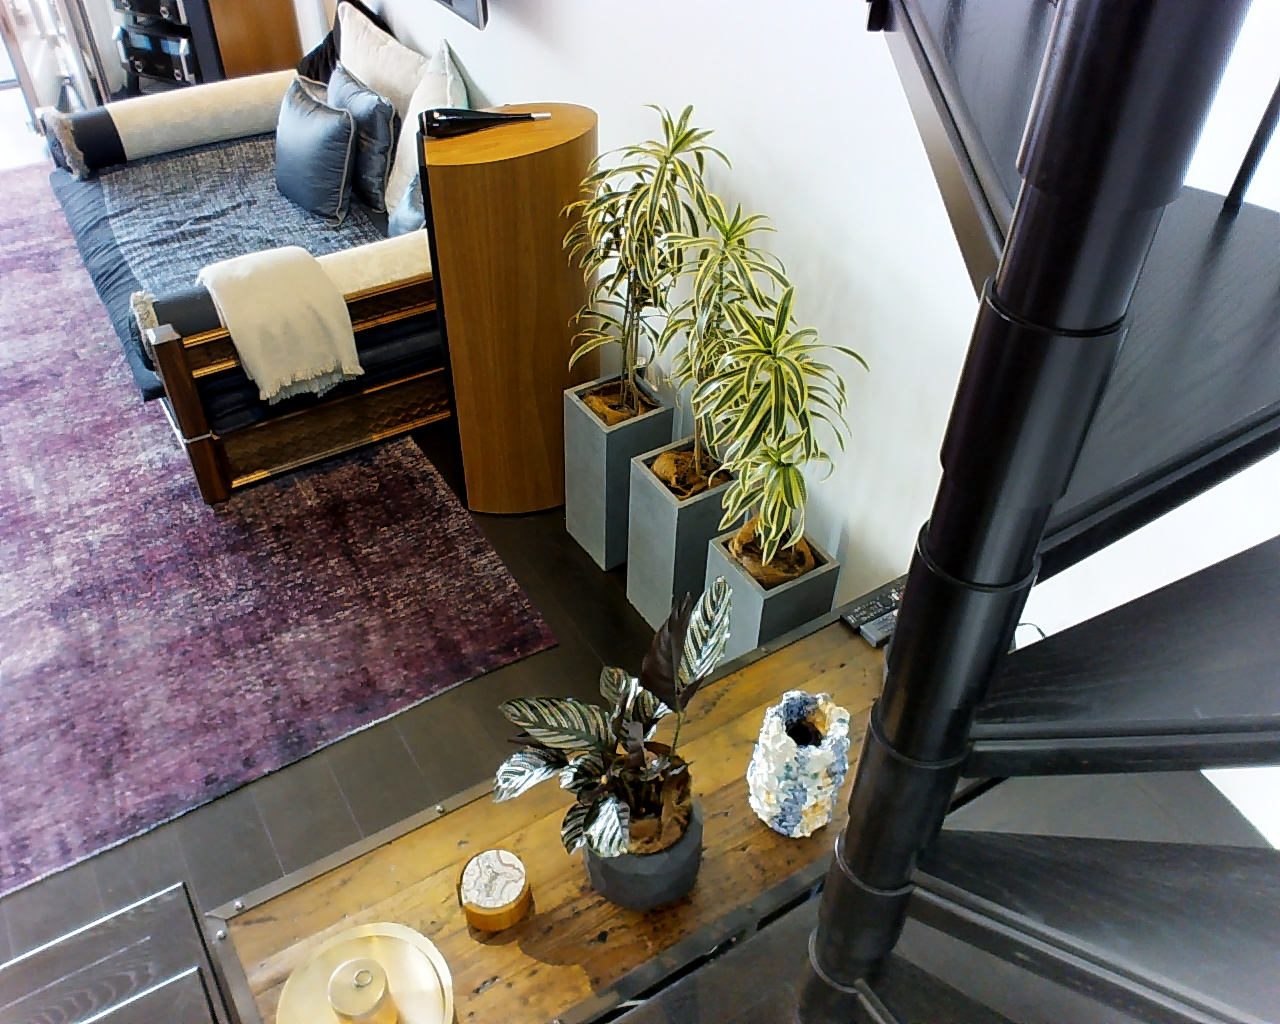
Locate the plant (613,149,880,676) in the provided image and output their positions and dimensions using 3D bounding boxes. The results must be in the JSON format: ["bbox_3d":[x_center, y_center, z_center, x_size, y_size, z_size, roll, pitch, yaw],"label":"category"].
[{"bbox_3d":[0.200,-0.190,2.560,0.380,1.170,0.380,-22,47,-24],"label":"plant"}]

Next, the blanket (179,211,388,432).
[{"bbox_3d":[-1.040,-0.570,3.160,0.380,0.390,0.450,-24,48,-26],"label":"blanket"}]

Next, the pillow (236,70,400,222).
[{"bbox_3d":[-1.120,-1.260,3.730,0.470,0.380,0.240,1,22,44],"label":"pillow"}]

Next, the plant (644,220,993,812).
[{"bbox_3d":[0.310,0.060,2.300,0.430,1.200,0.400,-21,47,-23],"label":"plant"}]
